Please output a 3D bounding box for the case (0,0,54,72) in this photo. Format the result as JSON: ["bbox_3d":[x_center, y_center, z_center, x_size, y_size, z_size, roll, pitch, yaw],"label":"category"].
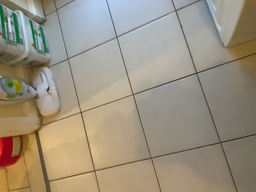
[{"bbox_3d":[-0.670,-0.330,1.070,0.170,0.590,0.280,-22,80,17],"label":"case"}]
